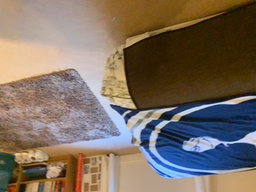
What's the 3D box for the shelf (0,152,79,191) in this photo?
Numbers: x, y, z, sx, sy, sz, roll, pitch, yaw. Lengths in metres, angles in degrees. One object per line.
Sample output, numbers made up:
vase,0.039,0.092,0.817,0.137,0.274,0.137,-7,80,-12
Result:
shelf,-1.470,1.460,3.080,1.360,1.050,0.320,-11,142,13
